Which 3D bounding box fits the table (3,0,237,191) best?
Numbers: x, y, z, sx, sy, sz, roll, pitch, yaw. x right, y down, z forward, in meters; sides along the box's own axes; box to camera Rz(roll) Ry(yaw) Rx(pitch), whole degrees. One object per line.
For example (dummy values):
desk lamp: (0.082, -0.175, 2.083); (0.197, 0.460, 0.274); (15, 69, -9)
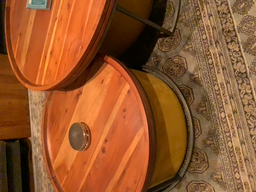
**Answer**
table: (-0.180, -0.200, 0.980); (0.860, 0.390, 1.380); (-19, 75, 39)
